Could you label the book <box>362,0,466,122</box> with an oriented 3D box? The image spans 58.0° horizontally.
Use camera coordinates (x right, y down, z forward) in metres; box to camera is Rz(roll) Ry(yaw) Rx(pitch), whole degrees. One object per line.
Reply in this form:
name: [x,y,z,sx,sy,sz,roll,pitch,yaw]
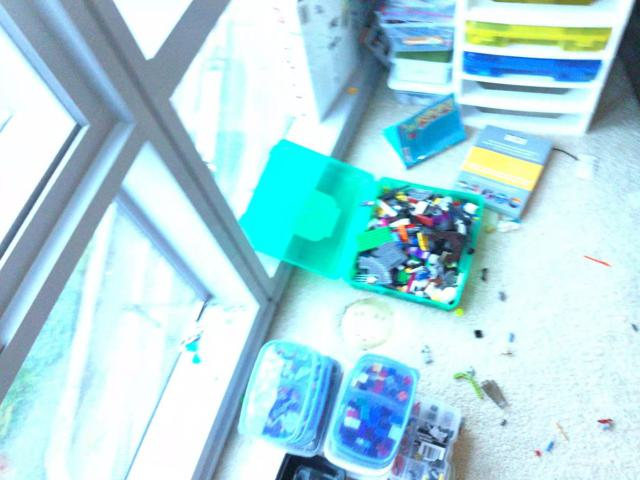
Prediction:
book: [0.260,-0.640,1.620,0.230,0.410,0.410,-7,61,12]
